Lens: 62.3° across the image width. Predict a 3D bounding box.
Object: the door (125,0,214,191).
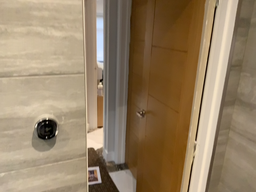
[{"bbox_3d":[0.180,0.190,1.490,0.060,2.030,0.700,-6,20,-24],"label":"door"}]
